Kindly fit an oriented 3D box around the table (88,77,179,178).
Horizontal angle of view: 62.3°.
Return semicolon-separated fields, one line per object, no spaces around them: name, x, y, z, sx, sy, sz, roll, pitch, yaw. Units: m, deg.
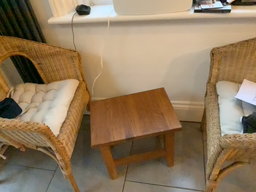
table;0.030;0.190;1.260;0.420;0.430;0.310;-13;44;-5

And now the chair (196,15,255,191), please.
chair;0.680;0.110;1.010;0.580;0.760;0.560;7;45;15

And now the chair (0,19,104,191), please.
chair;-0.560;0.080;1.210;0.620;0.790;0.550;0;44;9
